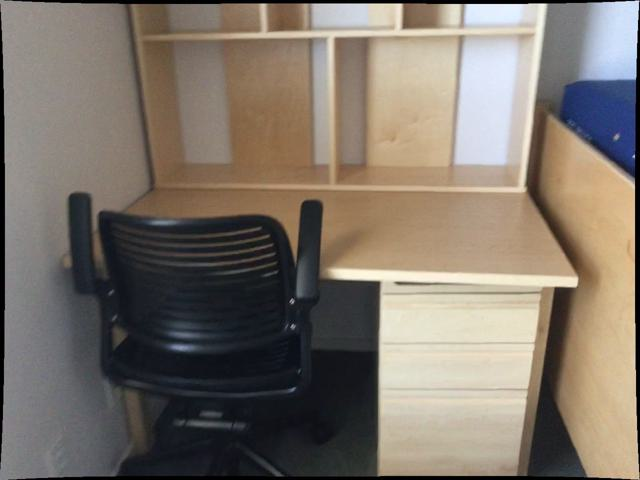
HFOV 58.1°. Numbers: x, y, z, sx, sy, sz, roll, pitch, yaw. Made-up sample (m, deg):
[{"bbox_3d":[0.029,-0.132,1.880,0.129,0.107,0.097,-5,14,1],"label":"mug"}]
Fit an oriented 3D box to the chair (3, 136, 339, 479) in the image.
[{"bbox_3d":[-0.300,0.230,1.750,0.649,0.911,0.830,0,22,6],"label":"chair"}]
